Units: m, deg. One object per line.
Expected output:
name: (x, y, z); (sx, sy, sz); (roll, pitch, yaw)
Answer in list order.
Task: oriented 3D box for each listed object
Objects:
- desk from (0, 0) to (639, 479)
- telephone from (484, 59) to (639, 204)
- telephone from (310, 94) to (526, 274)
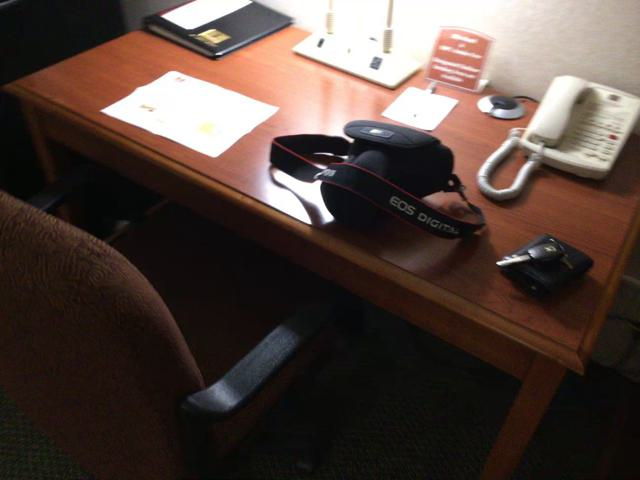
desk: (0.010, 0.000, 1.380); (1.250, 0.850, 0.680); (25, 44, 21)
telephone: (0.490, -0.220, 1.100); (0.250, 0.100, 0.270); (25, 44, 21)
telephone: (0.150, -0.100, 0.920); (0.270, 0.130, 0.180); (25, 44, 21)
